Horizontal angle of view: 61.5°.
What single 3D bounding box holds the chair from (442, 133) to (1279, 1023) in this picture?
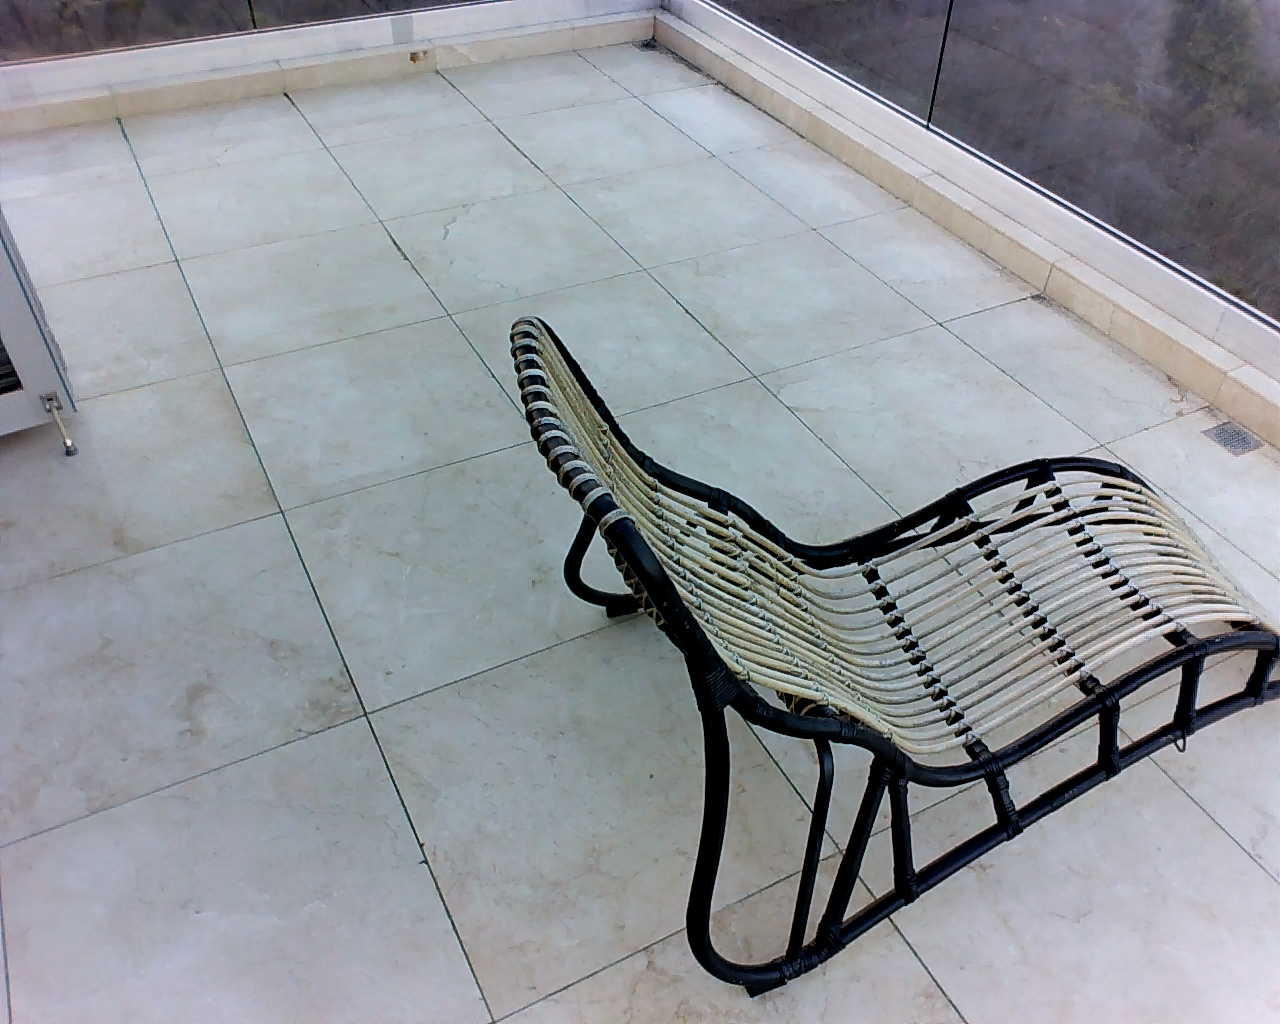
[{"bbox_3d":[0.570,0.060,1.710,1.530,0.860,0.810,-12,43,-14],"label":"chair"}]
